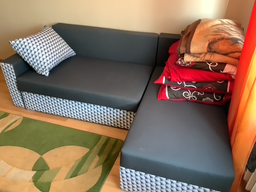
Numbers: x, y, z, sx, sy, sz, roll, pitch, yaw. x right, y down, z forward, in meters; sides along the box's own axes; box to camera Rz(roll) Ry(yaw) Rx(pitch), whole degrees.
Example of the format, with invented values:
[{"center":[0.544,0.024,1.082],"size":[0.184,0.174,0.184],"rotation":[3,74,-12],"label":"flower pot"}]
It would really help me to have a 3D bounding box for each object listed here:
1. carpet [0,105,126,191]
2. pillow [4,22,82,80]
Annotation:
[{"center":[-0.850,0.470,1.850],"size":[1.480,0.030,0.850],"rotation":[11,35,13],"label":"carpet"},{"center":[-0.900,-0.540,2.390],"size":[0.440,0.380,0.670],"rotation":[11,35,14],"label":"pillow"}]
